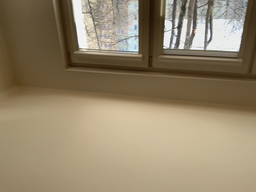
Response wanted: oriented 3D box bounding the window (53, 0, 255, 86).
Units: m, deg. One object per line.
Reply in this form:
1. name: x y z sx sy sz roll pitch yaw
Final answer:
1. window: 0.630 -0.870 1.510 2.590 1.590 0.130 6 -154 13
